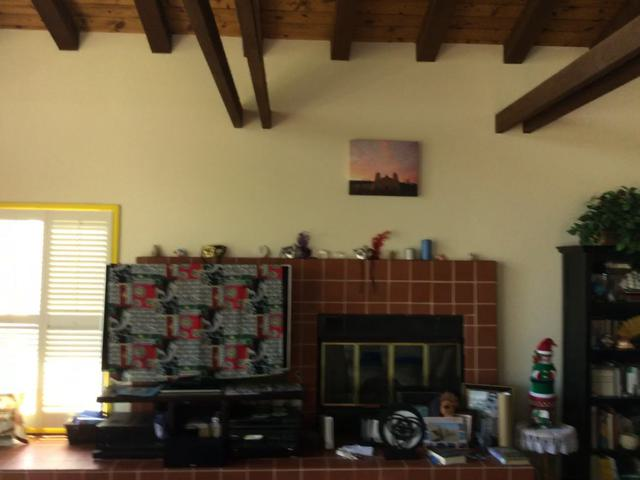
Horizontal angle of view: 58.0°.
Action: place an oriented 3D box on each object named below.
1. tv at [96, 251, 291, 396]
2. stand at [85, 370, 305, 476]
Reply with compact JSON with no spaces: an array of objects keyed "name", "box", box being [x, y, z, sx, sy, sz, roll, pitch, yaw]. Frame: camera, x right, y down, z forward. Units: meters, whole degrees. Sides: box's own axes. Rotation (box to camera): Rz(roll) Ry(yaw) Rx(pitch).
[{"name":"tv","box":[-0.800,0.530,3.740,1.190,0.840,0.240,-2,-8,-4]},{"name":"stand","box":[-0.750,1.130,3.670,1.270,0.490,0.540,-2,-8,-4]}]
